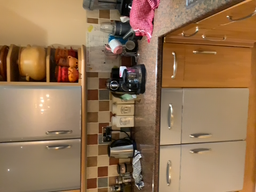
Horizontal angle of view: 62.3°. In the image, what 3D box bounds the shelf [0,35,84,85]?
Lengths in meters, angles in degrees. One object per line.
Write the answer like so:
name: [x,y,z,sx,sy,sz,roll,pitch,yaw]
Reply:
shelf: [-0.740,-0.250,1.580,0.310,0.780,0.320,-163,74,-74]
